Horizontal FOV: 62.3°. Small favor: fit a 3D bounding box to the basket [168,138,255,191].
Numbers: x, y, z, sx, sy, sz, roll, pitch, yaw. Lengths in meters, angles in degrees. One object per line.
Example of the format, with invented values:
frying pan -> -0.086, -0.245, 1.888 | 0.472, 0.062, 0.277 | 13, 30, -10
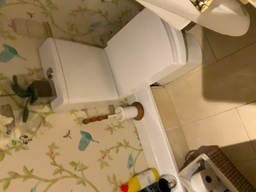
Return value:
basket -> 0.500, 0.510, 1.230 | 0.400, 0.220, 0.280 | 54, 127, 27
